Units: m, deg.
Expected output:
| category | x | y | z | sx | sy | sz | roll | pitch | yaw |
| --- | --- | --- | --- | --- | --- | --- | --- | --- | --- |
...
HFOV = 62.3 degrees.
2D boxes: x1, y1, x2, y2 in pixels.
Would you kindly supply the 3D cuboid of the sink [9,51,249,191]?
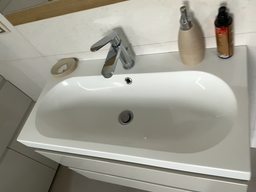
| category | x | y | z | sx | sy | sz | roll | pitch | yaw |
| --- | --- | --- | --- | --- | --- | --- | --- | --- | --- |
| sink | -0.030 | 0.050 | 0.780 | 0.810 | 0.100 | 0.400 | 1 | 58 | 26 |
